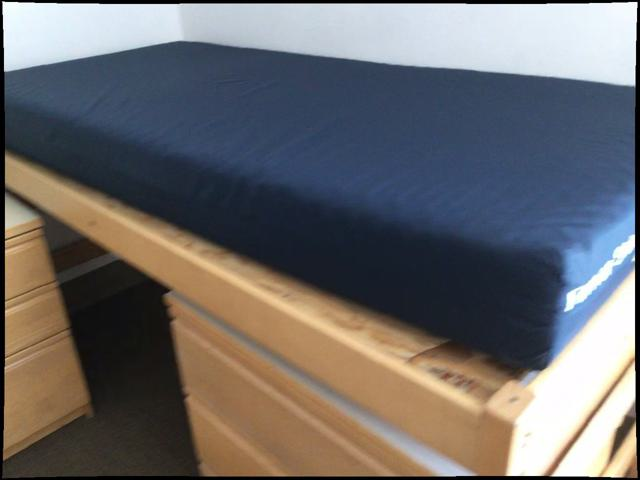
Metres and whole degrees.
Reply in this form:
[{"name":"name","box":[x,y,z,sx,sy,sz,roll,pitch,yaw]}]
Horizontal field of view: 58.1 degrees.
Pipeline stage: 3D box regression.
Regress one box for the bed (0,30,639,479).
[{"name":"bed","box":[-0.199,0.060,1.810,1.109,1.082,2.188,-27,36,-37]}]
